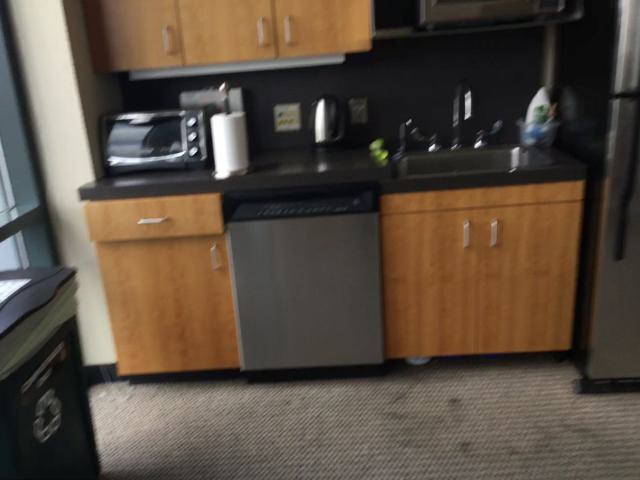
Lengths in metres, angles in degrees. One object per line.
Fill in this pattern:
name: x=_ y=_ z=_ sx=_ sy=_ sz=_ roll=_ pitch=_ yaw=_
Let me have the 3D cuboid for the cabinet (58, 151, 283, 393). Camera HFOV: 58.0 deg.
cabinet: x=-0.600 y=0.120 z=2.590 sx=0.620 sy=0.880 sz=0.640 roll=-3 pitch=17 yaw=12

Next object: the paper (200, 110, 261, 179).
paper: x=-0.340 y=-0.370 z=2.230 sx=0.160 sy=0.230 sz=0.150 roll=-3 pitch=17 yaw=12

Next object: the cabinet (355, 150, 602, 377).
cabinet: x=0.660 y=0.090 z=2.510 sx=0.880 sy=0.790 sz=0.570 roll=-3 pitch=17 yaw=12
